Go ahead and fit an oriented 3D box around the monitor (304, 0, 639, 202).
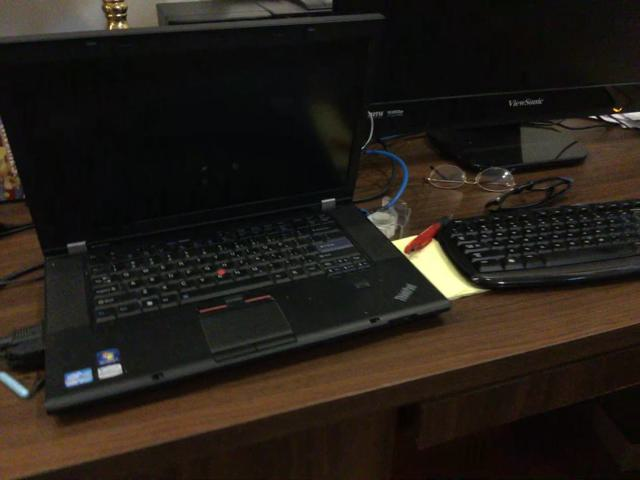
[{"bbox_3d":[0.310,-0.340,0.840,0.650,0.460,0.160,-9,30,-18],"label":"monitor"}]
